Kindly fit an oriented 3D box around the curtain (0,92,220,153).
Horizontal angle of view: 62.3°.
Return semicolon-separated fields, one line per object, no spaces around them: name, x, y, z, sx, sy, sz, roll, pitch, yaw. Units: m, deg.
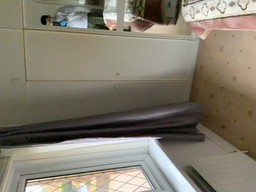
curtain;-0.130;0.190;1.980;0.410;2.020;0.280;-132;43;-62

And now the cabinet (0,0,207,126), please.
cabinet;-0.290;-0.930;2.220;0.600;2.160;2.300;-135;46;-63
